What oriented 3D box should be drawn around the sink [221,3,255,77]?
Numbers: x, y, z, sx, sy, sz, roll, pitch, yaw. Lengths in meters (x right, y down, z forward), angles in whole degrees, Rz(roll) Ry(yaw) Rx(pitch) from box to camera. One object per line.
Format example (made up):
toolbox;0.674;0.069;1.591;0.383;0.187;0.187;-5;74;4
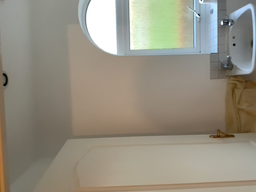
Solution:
sink;0.840;-0.370;1.500;0.290;0.220;0.460;-116;25;-86
